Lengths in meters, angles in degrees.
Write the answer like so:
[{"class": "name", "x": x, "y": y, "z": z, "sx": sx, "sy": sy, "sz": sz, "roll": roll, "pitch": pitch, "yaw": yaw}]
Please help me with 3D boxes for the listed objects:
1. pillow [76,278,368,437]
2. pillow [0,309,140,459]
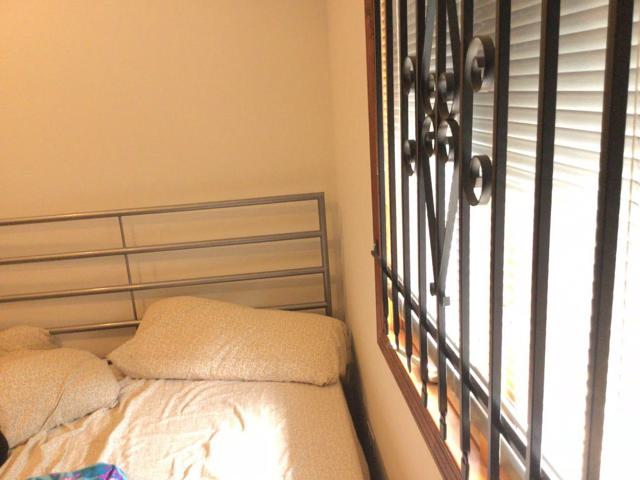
[{"class": "pillow", "x": -0.330, "y": 0.390, "z": 2.110, "sx": 0.900, "sy": 0.270, "sz": 0.540, "roll": -5, "pitch": 15, "yaw": -7}, {"class": "pillow", "x": -1.050, "y": 0.470, "z": 1.950, "sx": 0.740, "sy": 0.180, "sz": 0.660, "roll": -5, "pitch": 15, "yaw": -7}]
